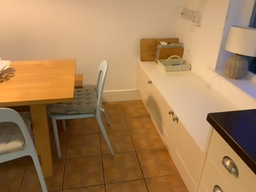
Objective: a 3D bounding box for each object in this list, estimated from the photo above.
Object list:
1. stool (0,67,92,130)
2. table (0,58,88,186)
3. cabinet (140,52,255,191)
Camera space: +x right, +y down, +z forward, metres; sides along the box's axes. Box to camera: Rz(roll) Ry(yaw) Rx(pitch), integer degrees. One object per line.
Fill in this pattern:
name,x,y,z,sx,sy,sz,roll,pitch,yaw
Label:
stool,-1.210,0.020,2.280,1.600,0.550,0.360,-2,28,-9
table,-1.200,0.180,1.770,1.660,0.750,0.800,-2,28,-9
cabinet,0.550,0.150,2.000,0.460,0.630,1.770,-2,28,-9
